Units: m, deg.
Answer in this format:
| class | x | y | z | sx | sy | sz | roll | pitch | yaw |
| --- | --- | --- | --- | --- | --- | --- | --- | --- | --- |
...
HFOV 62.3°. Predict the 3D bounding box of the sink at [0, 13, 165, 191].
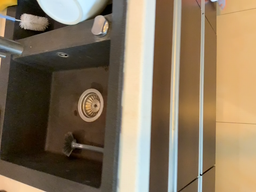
| class | x | y | z | sx | sy | sz | roll | pitch | yaw |
| --- | --- | --- | --- | --- | --- | --- | --- | --- | --- |
| sink | -0.170 | 0.050 | 0.650 | 0.510 | 0.210 | 0.420 | -1 | 83 | 33 |
